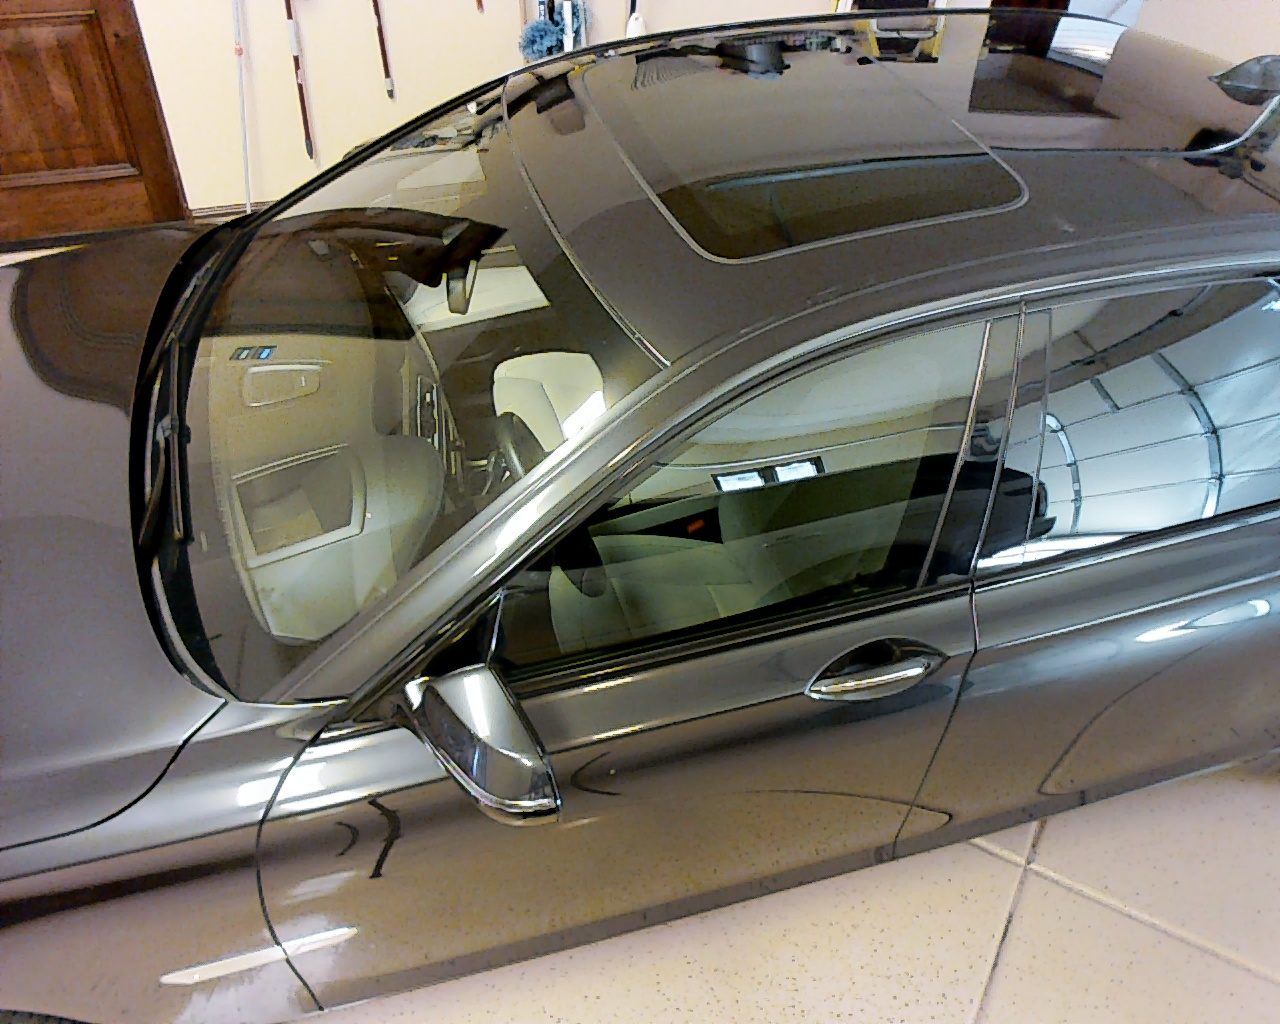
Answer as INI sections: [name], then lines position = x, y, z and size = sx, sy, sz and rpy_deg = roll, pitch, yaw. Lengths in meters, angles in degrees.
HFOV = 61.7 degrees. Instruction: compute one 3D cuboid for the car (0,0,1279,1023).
[car]
position = 0.230, -0.230, 2.450
size = 5.360, 1.580, 2.070
rpy_deg = -10, 42, -12
